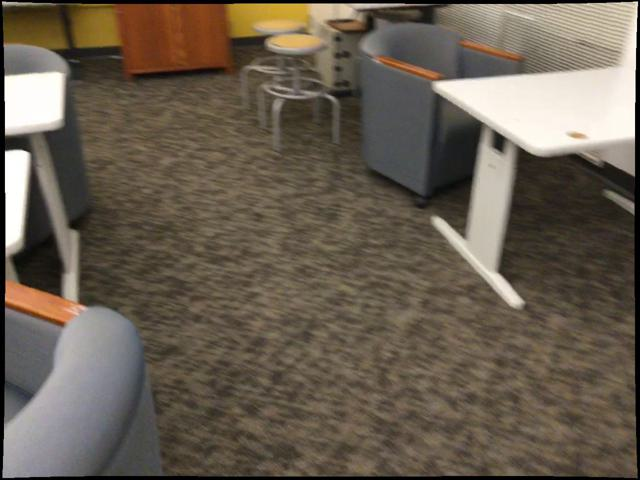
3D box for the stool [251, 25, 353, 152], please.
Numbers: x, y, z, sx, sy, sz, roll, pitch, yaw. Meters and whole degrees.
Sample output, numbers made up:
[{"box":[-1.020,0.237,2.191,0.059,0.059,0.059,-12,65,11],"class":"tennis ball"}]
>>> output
[{"box":[-0.120,-0.931,3.510,0.460,0.590,0.490,-11,34,-17],"class":"stool"}]
